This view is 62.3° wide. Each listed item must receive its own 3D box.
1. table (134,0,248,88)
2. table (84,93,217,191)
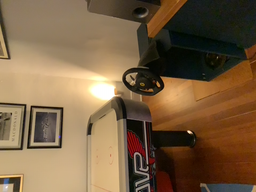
[{"bbox_3d":[0.450,-0.390,1.630,0.420,0.660,0.490,141,129,-61],"label":"table"},{"bbox_3d":[0.110,1.180,2.000,1.240,0.810,2.100,145,125,-62],"label":"table"}]
